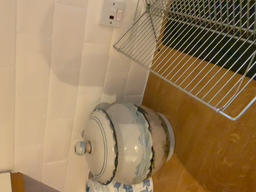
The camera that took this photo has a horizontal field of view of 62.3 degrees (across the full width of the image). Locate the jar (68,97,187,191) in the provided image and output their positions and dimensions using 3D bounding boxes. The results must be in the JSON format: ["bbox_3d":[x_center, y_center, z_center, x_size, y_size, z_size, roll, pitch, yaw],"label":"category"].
[{"bbox_3d":[-0.040,0.300,0.860,0.280,0.280,0.520,42,126,49],"label":"jar"}]
